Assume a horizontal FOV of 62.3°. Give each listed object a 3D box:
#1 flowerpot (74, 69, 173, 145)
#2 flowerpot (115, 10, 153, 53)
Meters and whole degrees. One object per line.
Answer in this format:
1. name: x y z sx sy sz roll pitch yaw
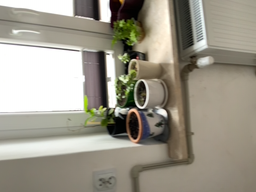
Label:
1. flowerpot: -0.050 0.060 1.040 0.400 0.340 0.280 167 103 -64
2. flowerpot: 0.030 -0.350 1.190 0.190 0.140 0.170 176 94 -65
